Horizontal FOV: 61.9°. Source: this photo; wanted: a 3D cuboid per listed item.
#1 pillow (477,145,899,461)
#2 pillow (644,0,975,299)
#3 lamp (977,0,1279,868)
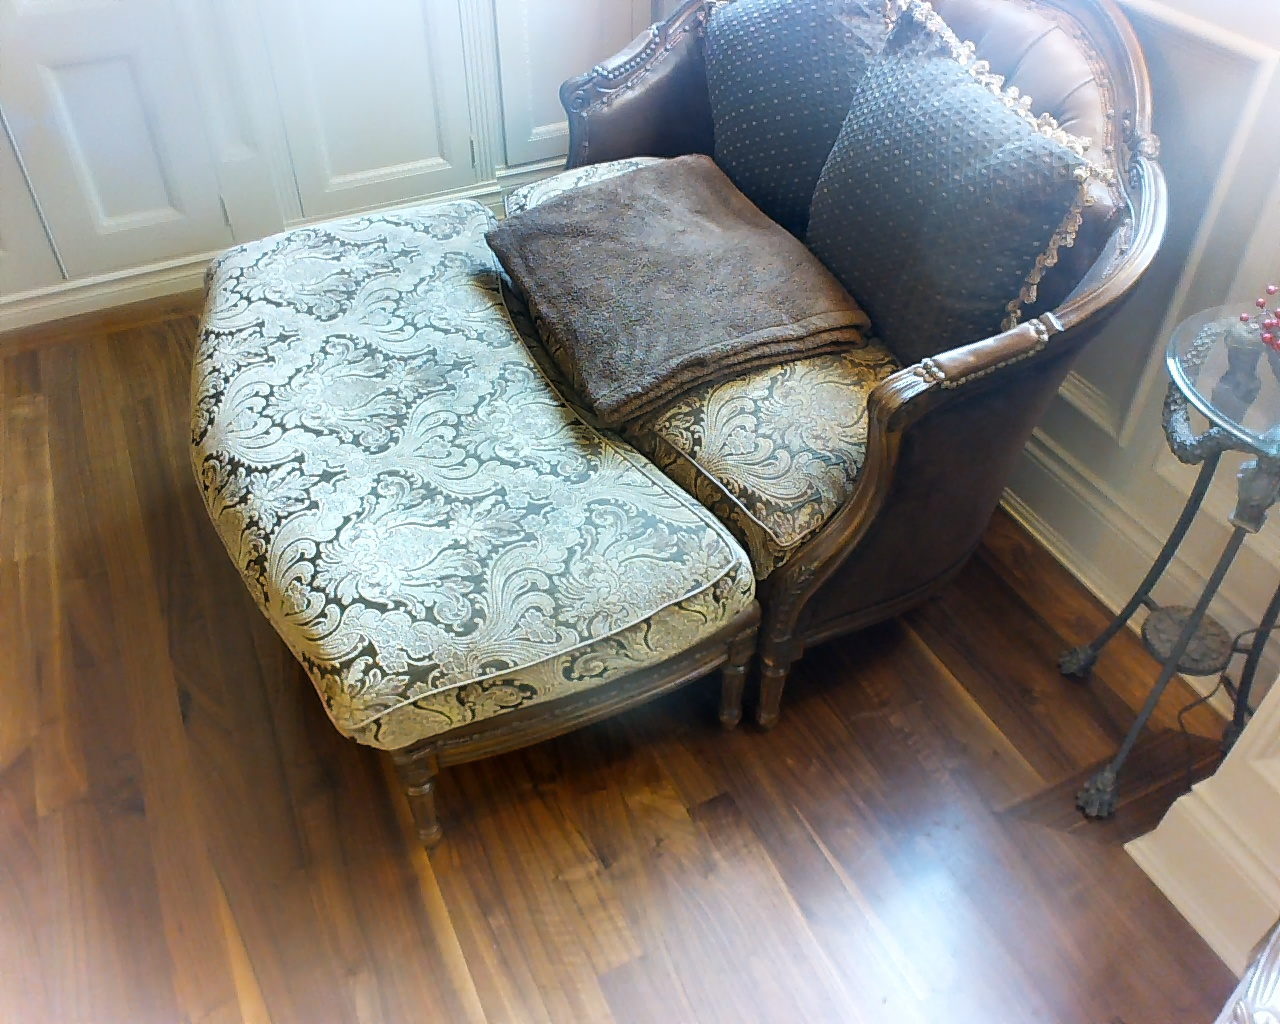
[{"bbox_3d":[0.050,-0.380,1.770,0.450,0.140,0.620,-17,46,-18],"label":"pillow"},{"bbox_3d":[0.270,-0.770,1.920,0.260,0.530,0.530,-26,49,-25],"label":"pillow"},{"bbox_3d":[0.870,-0.070,1.380,0.480,1.140,0.360,-17,46,-18],"label":"lamp"}]
